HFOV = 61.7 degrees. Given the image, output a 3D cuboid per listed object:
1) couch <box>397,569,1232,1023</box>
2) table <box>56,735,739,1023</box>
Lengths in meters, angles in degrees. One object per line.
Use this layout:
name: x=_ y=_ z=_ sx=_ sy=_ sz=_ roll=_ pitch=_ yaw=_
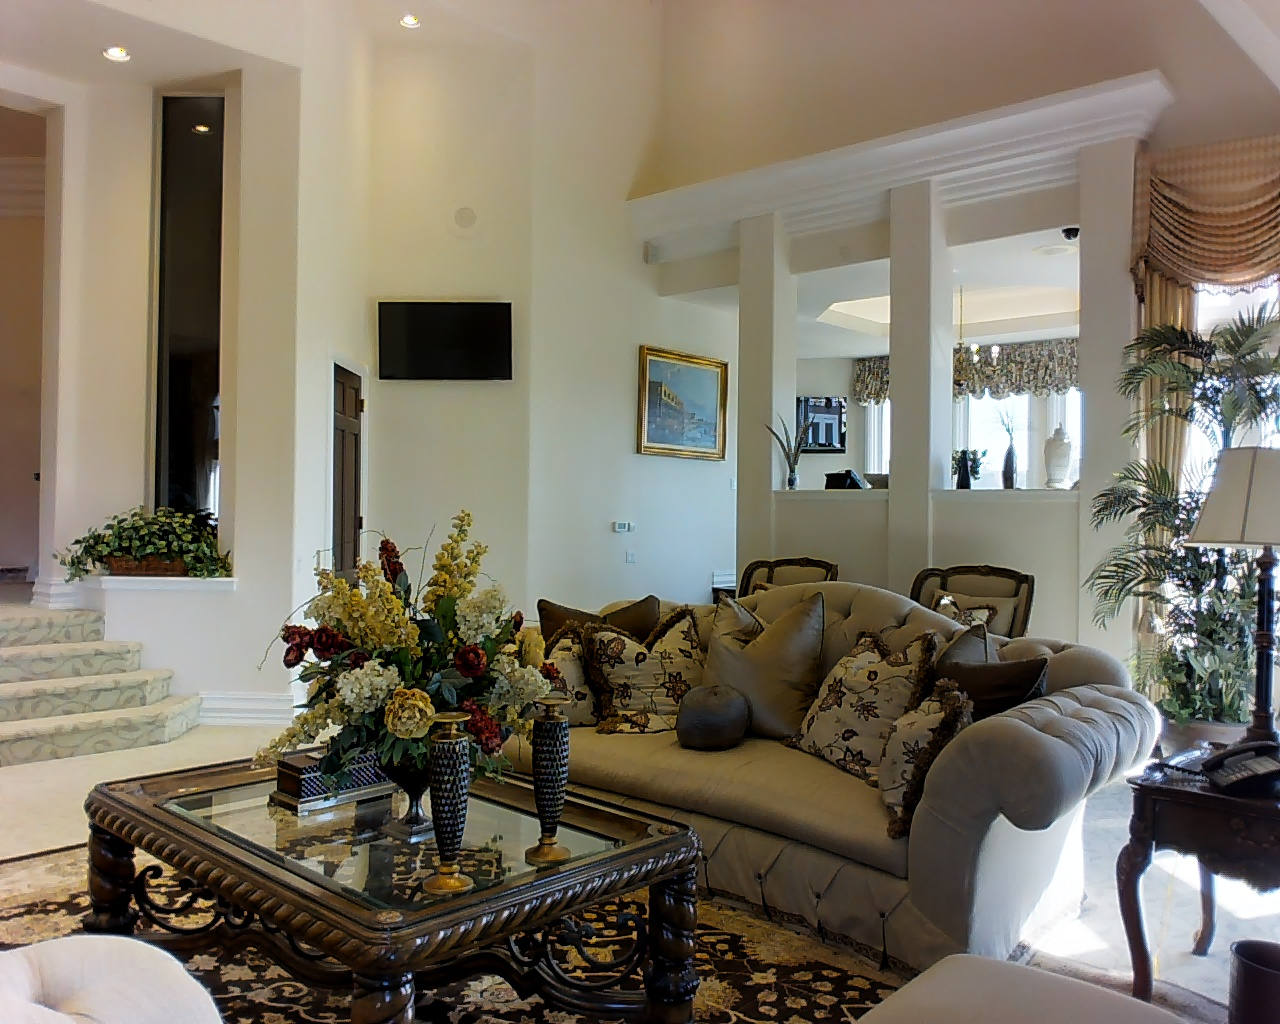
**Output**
couch: x=0.540 y=0.890 z=4.430 sx=3.090 sy=1.140 sz=1.470 roll=0 pitch=0 yaw=41
table: x=-0.720 y=1.120 z=3.040 sx=1.620 sy=0.570 sz=1.150 roll=0 pitch=0 yaw=41
